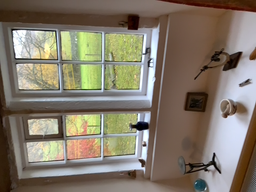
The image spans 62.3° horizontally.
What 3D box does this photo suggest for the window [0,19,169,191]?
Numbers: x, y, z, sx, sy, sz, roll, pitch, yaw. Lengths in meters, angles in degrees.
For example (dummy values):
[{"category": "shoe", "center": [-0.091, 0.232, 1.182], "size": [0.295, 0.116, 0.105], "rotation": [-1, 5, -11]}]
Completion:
[{"category": "window", "center": [-0.270, 0.140, 1.280], "size": [0.140, 0.910, 1.090], "rotation": [-125, 36, -67]}]
